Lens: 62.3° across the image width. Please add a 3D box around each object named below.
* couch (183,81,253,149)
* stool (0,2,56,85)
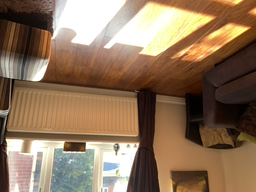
[{"bbox_3d":[1.220,0.310,2.950,0.550,0.780,0.630,13,159,-35],"label":"couch"},{"bbox_3d":[-0.840,-0.360,1.570,0.480,0.340,0.510,9,161,-26],"label":"stool"}]
